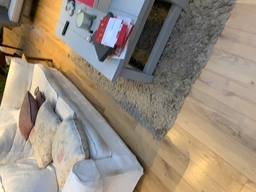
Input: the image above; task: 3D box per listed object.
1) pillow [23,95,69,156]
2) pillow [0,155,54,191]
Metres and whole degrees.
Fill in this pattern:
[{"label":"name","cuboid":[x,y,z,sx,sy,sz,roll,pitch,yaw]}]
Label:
[{"label":"pillow","cuboid":[-0.760,0.260,1.930,0.400,0.210,0.370,39,113,43]},{"label":"pillow","cuboid":[-0.780,0.640,1.680,0.630,0.350,0.100,-162,81,-70]}]
